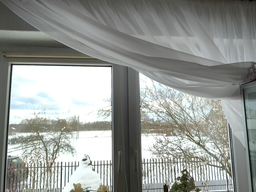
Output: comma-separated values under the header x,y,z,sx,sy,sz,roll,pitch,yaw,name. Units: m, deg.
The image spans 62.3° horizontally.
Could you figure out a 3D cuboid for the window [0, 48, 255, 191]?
x,y,z,sx,sy,sz,roll,pitch,yaw,name
-0.060,0.420,1.610,1.860,1.390,0.520,0,-9,-8,window
